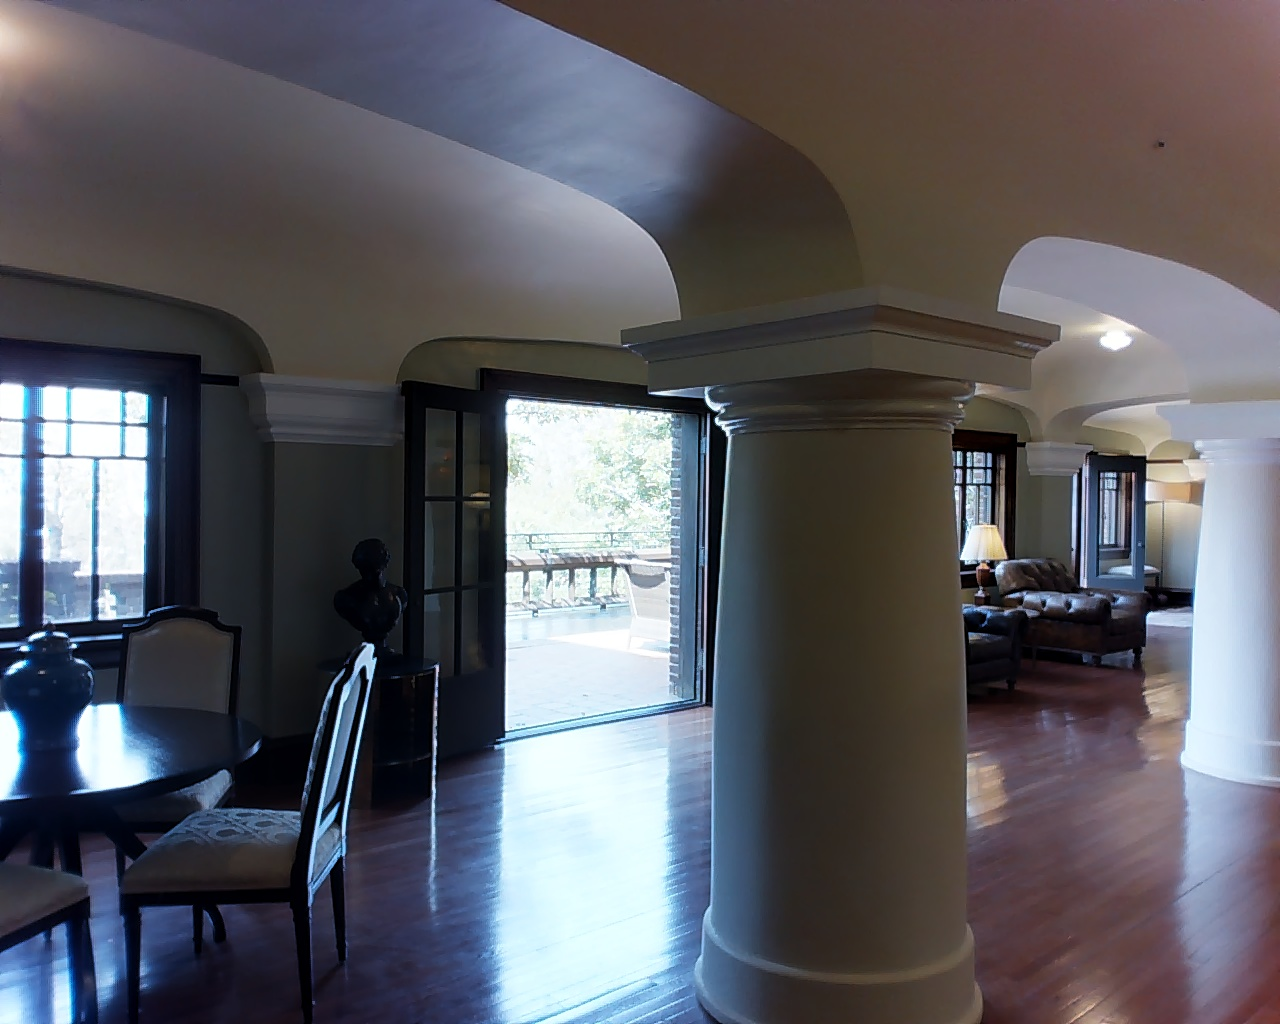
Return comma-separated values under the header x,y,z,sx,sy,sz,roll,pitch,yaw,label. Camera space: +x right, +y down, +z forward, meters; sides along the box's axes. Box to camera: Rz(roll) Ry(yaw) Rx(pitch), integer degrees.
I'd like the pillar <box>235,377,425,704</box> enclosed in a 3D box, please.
x,y,z,sx,sy,sz,roll,pitch,yaw,label
-1.640,0.140,5.760,0.950,1.620,0.260,0,1,-42,pillar

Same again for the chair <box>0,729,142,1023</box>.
x,y,z,sx,sy,sz,roll,pitch,yaw,label
-1.800,1.060,2.830,0.540,0.800,0.740,1,0,16,chair

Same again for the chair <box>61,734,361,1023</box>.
x,y,z,sx,sy,sz,roll,pitch,yaw,label
-1.270,1.090,3.290,0.670,0.690,0.600,0,0,0,chair

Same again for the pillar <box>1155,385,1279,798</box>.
x,y,z,sx,sy,sz,roll,pitch,yaw,label
3.619,0.420,6.190,0.960,2.190,0.880,0,1,-43,pillar

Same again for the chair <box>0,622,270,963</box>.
x,y,z,sx,sy,sz,roll,pitch,yaw,label
-1.850,0.930,3.830,0.820,0.990,0.820,0,0,-4,chair

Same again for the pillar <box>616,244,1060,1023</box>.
x,y,z,sx,sy,sz,roll,pitch,yaw,label
0.610,0.420,3.360,0.970,2.180,0.950,0,1,-43,pillar
